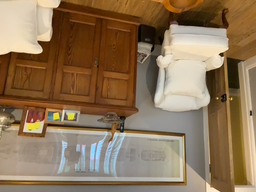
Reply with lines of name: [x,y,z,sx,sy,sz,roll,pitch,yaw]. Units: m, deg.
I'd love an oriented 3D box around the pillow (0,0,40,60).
pillow: [-0.930,-0.500,1.590,0.390,0.320,0.320,3,164,-5]
